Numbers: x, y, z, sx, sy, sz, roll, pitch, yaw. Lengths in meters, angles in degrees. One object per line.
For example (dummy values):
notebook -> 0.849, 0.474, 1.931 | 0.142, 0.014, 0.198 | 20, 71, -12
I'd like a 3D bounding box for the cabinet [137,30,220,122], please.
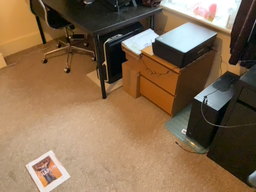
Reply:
cabinet -> 0.430, -0.200, 1.950 | 0.540, 0.550, 0.420 | -29, 50, -28
